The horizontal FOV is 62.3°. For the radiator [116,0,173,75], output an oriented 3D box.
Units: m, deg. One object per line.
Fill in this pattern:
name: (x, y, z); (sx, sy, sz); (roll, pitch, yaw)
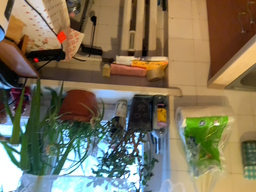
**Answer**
radiator: (0.110, -0.480, 1.350); (0.310, 0.660, 0.180); (3, 161, 2)
